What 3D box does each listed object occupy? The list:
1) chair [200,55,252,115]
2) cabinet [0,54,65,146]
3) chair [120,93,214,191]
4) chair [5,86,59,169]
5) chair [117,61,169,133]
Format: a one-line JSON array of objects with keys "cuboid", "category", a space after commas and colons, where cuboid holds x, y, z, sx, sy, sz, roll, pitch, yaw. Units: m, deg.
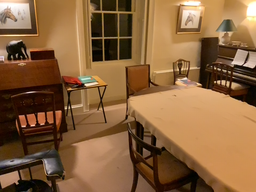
[{"cuboid": [1.750, -0.220, 3.870, 0.440, 0.920, 0.560, -10, 23, -27], "category": "chair"}, {"cuboid": [-1.460, 0.010, 3.030, 0.890, 1.080, 0.570, -9, 23, -25], "category": "cabinet"}, {"cuboid": [0.290, 0.540, 1.900, 0.540, 0.950, 0.530, -9, 23, -25], "category": "chair"}, {"cuboid": [-1.130, 0.350, 2.590, 0.450, 0.770, 0.550, -6, 22, -19], "category": "chair"}, {"cuboid": [0.210, -0.020, 3.360, 0.610, 0.950, 0.510, -9, 23, -25], "category": "chair"}]
